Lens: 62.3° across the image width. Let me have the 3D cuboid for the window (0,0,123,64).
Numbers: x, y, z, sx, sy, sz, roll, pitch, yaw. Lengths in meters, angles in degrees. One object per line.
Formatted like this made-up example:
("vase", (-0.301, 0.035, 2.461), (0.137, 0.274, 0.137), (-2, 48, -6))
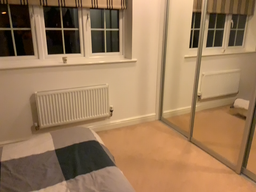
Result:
("window", (-0.820, -1.010, 2.590), (1.650, 1.120, 0.060), (-9, 20, -26))

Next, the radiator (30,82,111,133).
("radiator", (-0.690, 0.130, 2.700), (0.960, 0.500, 0.110), (-8, 20, -25))
